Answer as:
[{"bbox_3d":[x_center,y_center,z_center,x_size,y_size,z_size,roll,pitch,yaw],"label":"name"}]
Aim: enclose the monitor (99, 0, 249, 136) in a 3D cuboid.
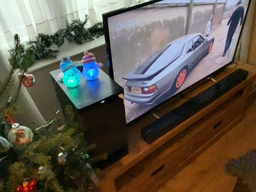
[{"bbox_3d":[0.340,-0.260,1.180,1.070,0.610,0.030,-29,44,-28],"label":"monitor"}]
